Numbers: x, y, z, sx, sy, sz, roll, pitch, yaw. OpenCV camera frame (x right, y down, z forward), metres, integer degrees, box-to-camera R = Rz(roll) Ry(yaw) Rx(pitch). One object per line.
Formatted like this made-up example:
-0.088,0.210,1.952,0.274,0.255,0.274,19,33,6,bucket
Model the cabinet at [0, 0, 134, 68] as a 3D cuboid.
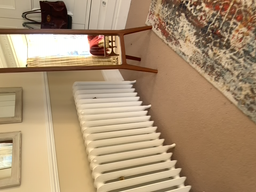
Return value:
-1.170,-1.080,2.680,0.670,2.280,1.250,-117,34,-43,cabinet
